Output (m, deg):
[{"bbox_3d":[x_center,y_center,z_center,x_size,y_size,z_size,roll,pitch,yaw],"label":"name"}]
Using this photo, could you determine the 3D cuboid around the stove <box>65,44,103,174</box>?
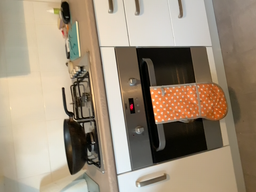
[{"bbox_3d":[-0.280,0.090,1.220,0.550,0.020,0.600,161,101,-64],"label":"stove"}]
